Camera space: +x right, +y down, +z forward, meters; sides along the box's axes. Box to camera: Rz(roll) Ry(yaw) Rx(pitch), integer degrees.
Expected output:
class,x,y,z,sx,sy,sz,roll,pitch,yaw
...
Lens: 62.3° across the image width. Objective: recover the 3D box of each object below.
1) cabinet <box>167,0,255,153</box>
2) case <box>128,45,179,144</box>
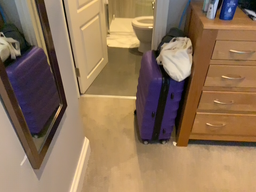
class,x,y,z,sx,sy,sz,roll,pitch,yaw
cabinet,0.800,-0.120,1.520,0.880,1.000,0.500,3,39,4
case,0.170,-0.010,1.620,0.300,0.600,0.440,3,39,4
